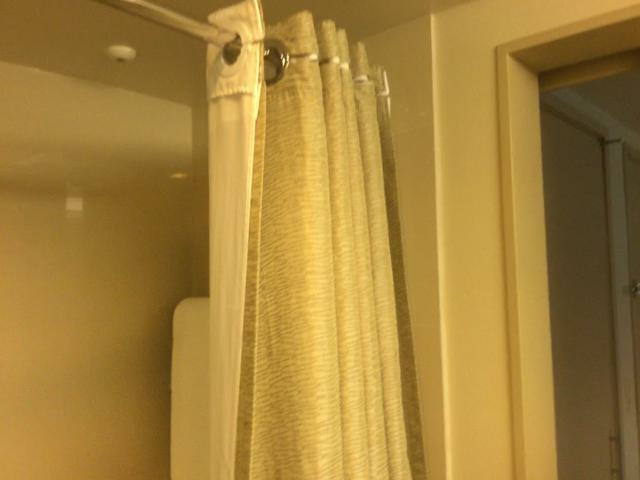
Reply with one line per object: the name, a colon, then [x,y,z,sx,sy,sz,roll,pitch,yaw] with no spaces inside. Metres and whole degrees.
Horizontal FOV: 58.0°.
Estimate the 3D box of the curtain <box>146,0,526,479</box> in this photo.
curtain: [0.080,0.630,0.860,0.250,2.040,0.560,-7,-6,43]
